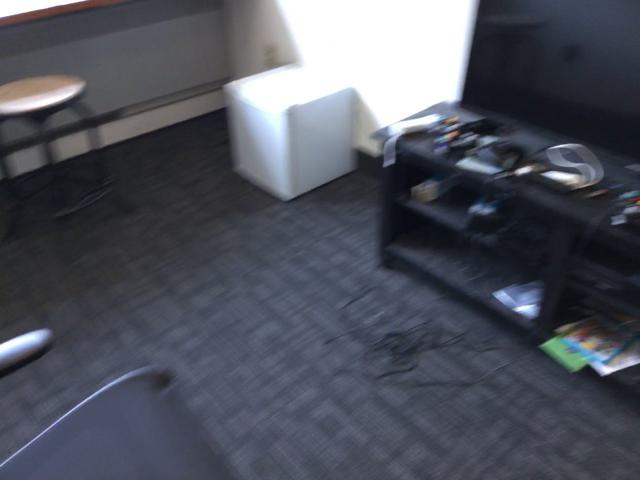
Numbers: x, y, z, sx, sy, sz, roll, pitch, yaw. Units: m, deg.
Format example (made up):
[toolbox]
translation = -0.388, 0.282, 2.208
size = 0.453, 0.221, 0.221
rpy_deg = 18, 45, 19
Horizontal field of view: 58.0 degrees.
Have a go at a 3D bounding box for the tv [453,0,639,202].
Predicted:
[tv]
translation = 0.850, -0.480, 1.400
size = 0.170, 0.780, 1.210
rpy_deg = -26, 35, -29

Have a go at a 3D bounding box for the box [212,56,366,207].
[box]
translation = -0.140, -0.550, 2.810
size = 0.470, 0.520, 0.510
rpy_deg = -28, 37, -32

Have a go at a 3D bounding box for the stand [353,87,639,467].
[stand]
translation = 0.790, 0.070, 1.760
size = 0.510, 0.720, 1.450
rpy_deg = -26, 35, -29
